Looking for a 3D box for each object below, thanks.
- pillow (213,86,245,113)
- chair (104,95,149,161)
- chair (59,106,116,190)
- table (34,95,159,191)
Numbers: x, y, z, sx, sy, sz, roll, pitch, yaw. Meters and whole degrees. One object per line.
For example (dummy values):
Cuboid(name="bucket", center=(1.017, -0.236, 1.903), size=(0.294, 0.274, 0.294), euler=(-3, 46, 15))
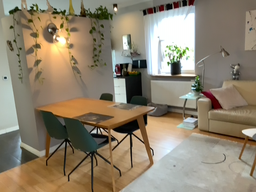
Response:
Cuboid(name="pillow", center=(1.850, 0.050, 3.870), size=(0.390, 0.370, 0.460), euler=(8, 16, 42))
Cuboid(name="chair", center=(-0.010, 0.450, 3.200), size=(0.400, 0.820, 0.490), euler=(7, 16, 42))
Cuboid(name="chair", center=(-0.480, 0.600, 2.610), size=(0.360, 0.820, 0.490), euler=(7, 16, 41))
Cuboid(name="table", center=(-0.480, 0.520, 3.080), size=(1.540, 0.780, 0.970), euler=(7, 16, 41))
